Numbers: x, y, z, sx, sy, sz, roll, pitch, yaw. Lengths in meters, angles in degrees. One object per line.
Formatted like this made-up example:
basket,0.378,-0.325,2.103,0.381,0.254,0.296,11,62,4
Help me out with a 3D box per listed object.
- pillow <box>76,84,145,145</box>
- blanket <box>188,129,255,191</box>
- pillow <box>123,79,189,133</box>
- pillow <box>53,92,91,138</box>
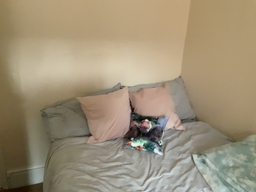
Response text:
pillow,-0.160,0.110,1.630,0.410,0.270,0.440,-4,22,-19
blanket,0.710,0.420,1.120,0.480,0.150,0.600,-5,22,-22
pillow,0.210,0.060,1.800,0.380,0.280,0.440,-4,22,-19
pillow,-0.430,0.130,1.590,0.240,0.200,0.330,-4,22,-19
